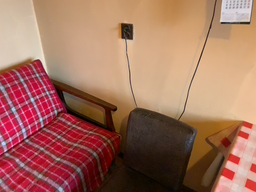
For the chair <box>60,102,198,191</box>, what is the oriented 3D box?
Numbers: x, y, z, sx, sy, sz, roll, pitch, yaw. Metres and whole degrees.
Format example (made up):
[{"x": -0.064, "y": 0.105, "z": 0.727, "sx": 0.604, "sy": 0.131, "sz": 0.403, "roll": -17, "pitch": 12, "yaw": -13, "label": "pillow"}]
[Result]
[{"x": 0.030, "y": 0.540, "z": 1.180, "sx": 0.400, "sy": 0.770, "sz": 0.540, "roll": 21, "pitch": 38, "yaw": 27, "label": "chair"}]
